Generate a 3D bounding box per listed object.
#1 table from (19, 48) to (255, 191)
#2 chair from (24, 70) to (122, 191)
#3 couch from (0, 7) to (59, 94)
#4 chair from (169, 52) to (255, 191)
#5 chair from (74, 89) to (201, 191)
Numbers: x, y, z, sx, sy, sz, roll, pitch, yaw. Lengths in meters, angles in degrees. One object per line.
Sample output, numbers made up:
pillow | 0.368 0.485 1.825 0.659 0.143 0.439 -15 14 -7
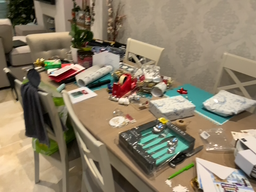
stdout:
table | 0.020 0.310 1.680 0.990 0.800 1.800 -20 36 -37
chair | -0.370 0.330 1.510 0.470 0.870 0.400 -16 34 -33
couch | -1.810 -0.700 3.050 1.180 0.930 0.990 -20 37 -38
chair | 0.780 0.200 1.800 0.590 0.980 0.430 -19 36 -36
chair | 0.010 0.480 1.280 0.490 0.870 0.420 -14 33 -30
